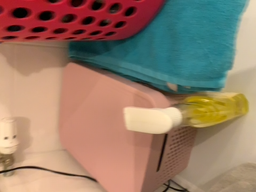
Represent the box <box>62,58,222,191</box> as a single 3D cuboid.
[{"bbox_3d":[0.010,0.050,0.570,0.360,0.220,0.280,12,103,45],"label":"box"}]
